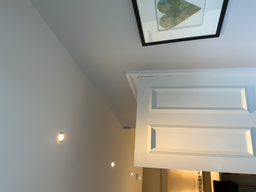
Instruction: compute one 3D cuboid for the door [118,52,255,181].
[{"bbox_3d":[1.000,0.150,1.870,0.170,2.130,1.100,60,-149,-69],"label":"door"}]
